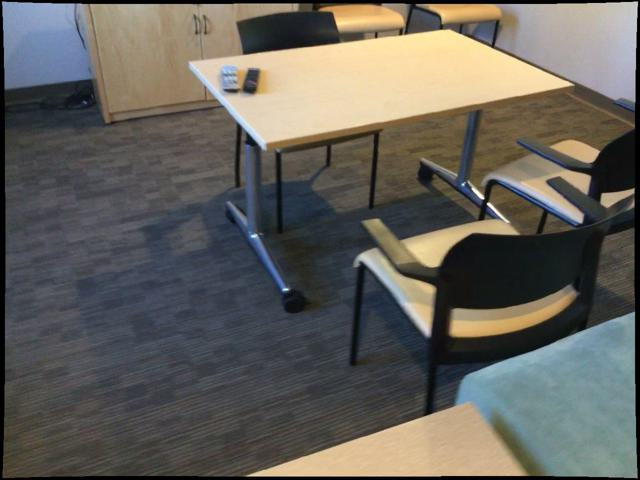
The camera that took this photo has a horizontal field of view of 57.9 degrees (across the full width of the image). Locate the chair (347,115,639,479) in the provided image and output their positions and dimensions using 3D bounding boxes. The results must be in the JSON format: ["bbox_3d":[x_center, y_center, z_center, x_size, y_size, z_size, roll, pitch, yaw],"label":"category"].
[{"bbox_3d":[0.470,0.160,1.580,0.540,0.730,0.610,-14,39,-20],"label":"chair"}]

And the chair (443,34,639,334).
[{"bbox_3d":[0.889,-0.220,2.060,0.570,0.781,0.530,-26,45,-32],"label":"chair"}]
